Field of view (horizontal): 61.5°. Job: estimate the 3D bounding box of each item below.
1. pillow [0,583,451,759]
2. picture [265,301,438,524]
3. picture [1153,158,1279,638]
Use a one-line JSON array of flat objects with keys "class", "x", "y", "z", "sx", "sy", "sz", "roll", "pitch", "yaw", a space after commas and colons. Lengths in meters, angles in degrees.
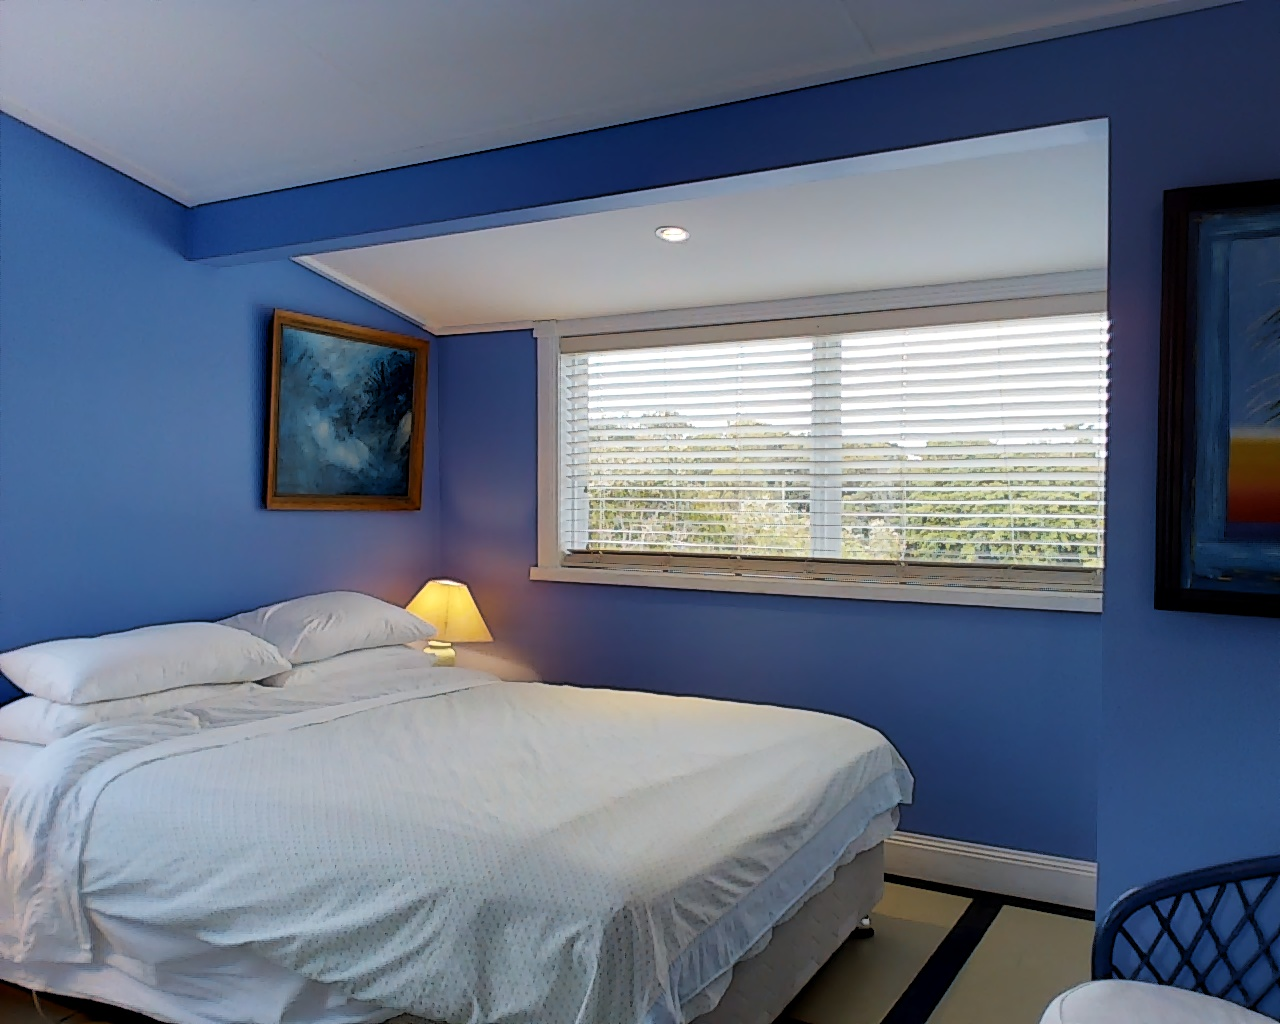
[{"class": "pillow", "x": -1.220, "y": 0.430, "z": 3.300, "sx": 0.460, "sy": 0.300, "sz": 1.400, "roll": 1, "pitch": 1, "yaw": 30}, {"class": "picture", "x": -1.070, "y": -0.350, "z": 4.090, "sx": 0.050, "sy": 0.770, "sz": 0.840, "roll": 1, "pitch": 1, "yaw": 30}, {"class": "picture", "x": 1.220, "y": -0.200, "z": 1.890, "sx": 0.560, "sy": 0.850, "sz": 0.060, "roll": 1, "pitch": 1, "yaw": 30}]
